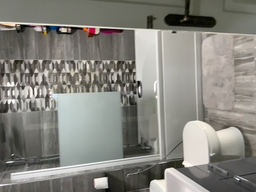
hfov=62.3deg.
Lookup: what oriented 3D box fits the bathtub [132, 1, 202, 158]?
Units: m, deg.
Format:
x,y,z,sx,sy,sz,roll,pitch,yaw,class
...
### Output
x,y,z,sx,sy,sz,roll,pitch,yaw,class
0.440,-0.180,2.590,0.660,0.550,1.630,180,87,-73,bathtub
